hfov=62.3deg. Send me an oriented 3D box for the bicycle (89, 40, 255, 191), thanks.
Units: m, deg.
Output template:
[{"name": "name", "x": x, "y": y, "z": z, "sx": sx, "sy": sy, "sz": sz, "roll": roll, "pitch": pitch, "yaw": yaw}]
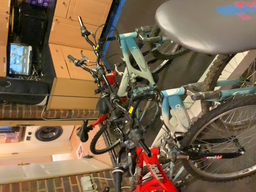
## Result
[{"name": "bicycle", "x": 0.290, "y": 0.580, "z": 1.490, "sx": 0.550, "sy": 0.720, "sz": 1.720, "roll": 59, "pitch": 135, "yaw": 42}]
